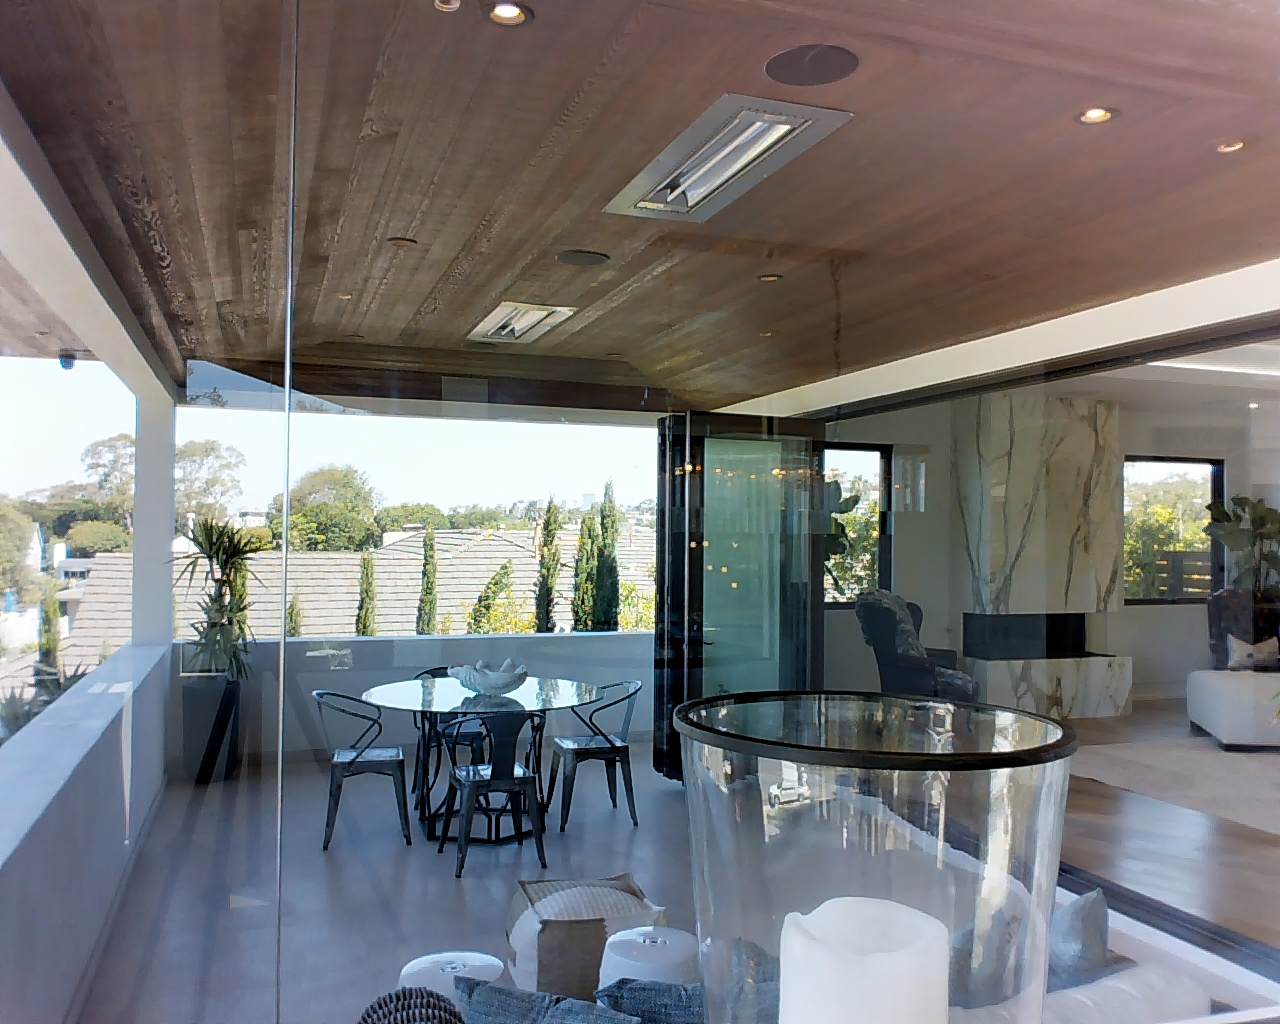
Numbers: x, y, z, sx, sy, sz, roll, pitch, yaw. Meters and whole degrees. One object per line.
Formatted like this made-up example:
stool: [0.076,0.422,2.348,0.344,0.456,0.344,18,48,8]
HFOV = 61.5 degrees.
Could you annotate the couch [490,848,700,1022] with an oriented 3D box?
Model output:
couch: [-0.190,1.560,4.050,0.640,0.350,0.650,1,-1,-17]
